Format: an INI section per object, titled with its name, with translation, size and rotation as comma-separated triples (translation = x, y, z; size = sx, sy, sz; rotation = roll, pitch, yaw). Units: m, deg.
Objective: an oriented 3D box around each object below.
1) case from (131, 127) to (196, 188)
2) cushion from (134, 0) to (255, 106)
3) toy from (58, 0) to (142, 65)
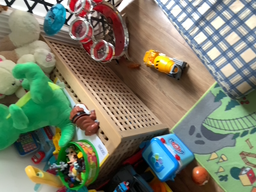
[case]
translation = 0.210, 0.350, 1.260
size = 0.210, 0.230, 0.230
rotation = 47, 116, 28
[cushion]
translation = 0.500, -0.570, 1.090
size = 0.790, 0.150, 0.960
rotation = -44, 64, 29
[toy]
translation = -0.180, -0.420, 1.490
size = 0.240, 0.480, 0.260
rotation = 47, 116, 28
